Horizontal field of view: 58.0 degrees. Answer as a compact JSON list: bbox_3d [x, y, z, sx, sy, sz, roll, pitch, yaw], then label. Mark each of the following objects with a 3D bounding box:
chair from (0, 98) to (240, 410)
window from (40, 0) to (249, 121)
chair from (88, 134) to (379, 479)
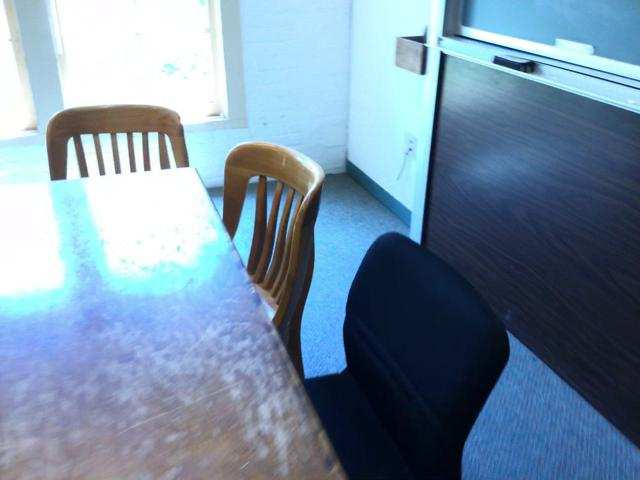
[{"bbox_3d":[-0.700,0.000,2.000,0.690,0.800,0.610,-8,29,-19],"label":"chair"},{"bbox_3d":[-0.900,-1.130,3.060,1.010,0.900,0.200,-8,29,-19],"label":"window"},{"bbox_3d":[-0.270,0.180,1.610,0.590,0.750,0.620,-8,29,-19],"label":"chair"}]
